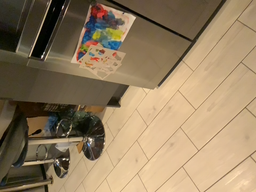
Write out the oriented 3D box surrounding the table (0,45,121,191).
[{"bbox_3d":[-0.990,0.520,2.010,1.780,0.910,0.650,-55,50,27],"label":"table"}]
